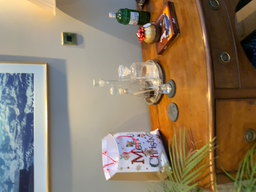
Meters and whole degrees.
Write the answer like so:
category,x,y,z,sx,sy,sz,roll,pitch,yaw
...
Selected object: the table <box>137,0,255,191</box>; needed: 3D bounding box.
category,x,y,z,sx,sy,sz,roll,pitch,yaw
table,0.630,-0.210,1.280,0.630,0.860,1.350,139,127,-67
